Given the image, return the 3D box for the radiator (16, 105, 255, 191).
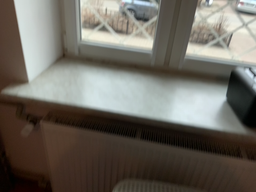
[{"bbox_3d":[0.040,0.500,1.160,1.170,0.740,0.150,11,33,8],"label":"radiator"}]
